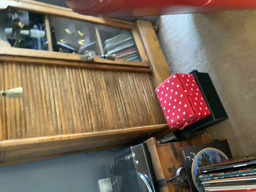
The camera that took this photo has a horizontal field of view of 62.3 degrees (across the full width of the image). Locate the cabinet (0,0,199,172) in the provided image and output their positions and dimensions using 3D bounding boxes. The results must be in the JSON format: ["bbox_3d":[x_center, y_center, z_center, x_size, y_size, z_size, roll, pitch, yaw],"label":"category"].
[{"bbox_3d":[-0.240,-0.060,1.360,0.420,1.200,0.800,-41,57,49],"label":"cabinet"}]
